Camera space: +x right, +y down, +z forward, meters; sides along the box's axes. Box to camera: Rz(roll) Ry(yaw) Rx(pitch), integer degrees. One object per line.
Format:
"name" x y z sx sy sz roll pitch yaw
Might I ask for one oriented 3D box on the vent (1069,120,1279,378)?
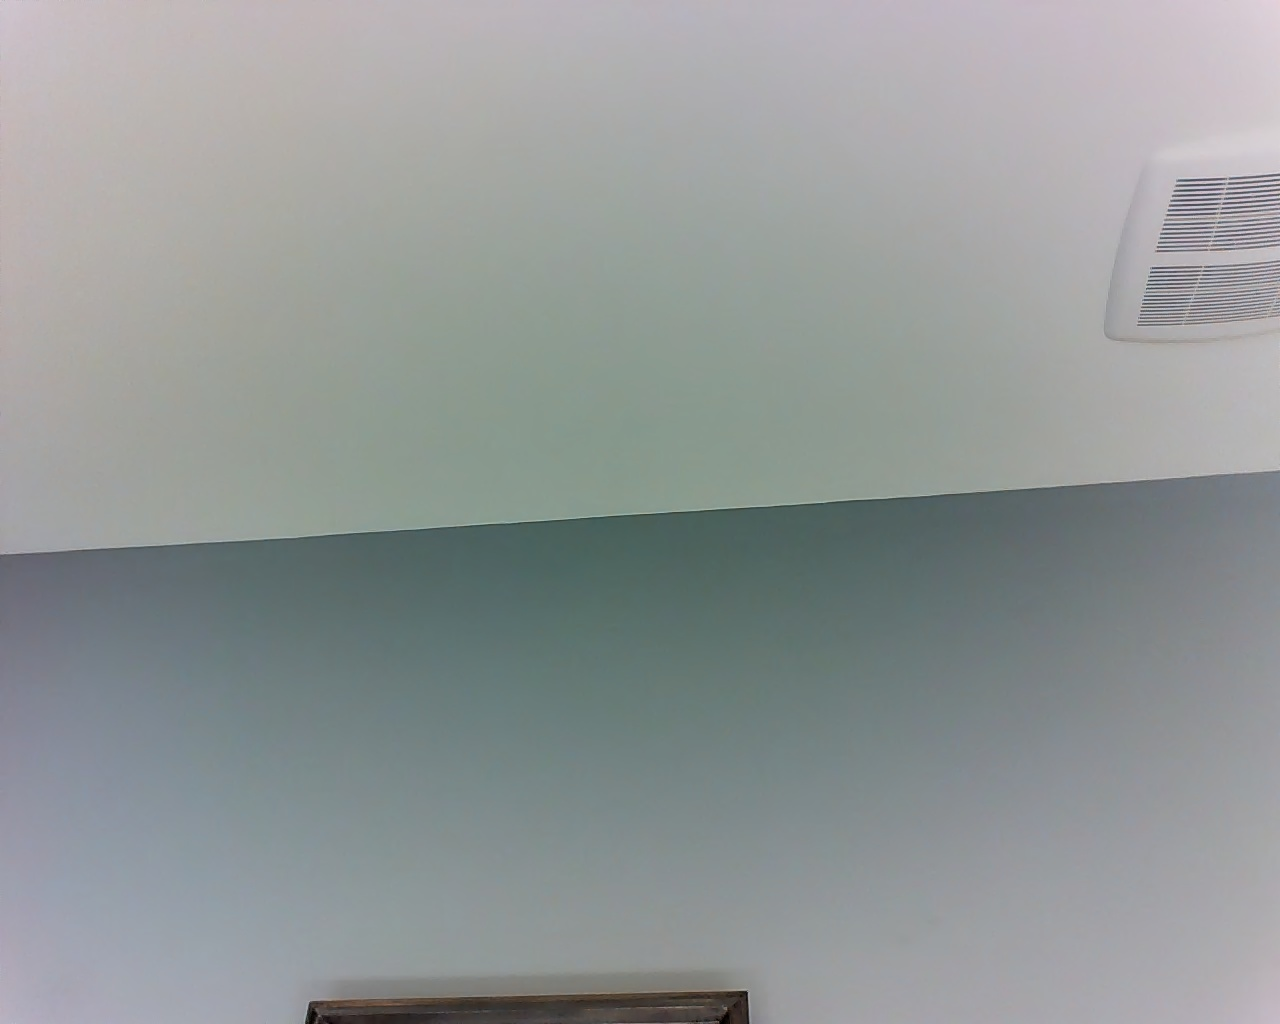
"vent" 0.710 -0.300 1.250 0.340 0.030 0.320 -3 -43 5
